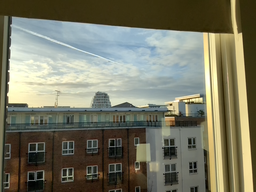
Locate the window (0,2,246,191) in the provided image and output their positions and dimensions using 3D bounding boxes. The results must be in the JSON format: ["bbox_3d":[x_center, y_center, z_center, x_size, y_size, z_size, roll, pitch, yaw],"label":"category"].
[{"bbox_3d":[-0.040,0.620,1.150,1.400,2.180,0.180,0,-6,-10],"label":"window"}]
